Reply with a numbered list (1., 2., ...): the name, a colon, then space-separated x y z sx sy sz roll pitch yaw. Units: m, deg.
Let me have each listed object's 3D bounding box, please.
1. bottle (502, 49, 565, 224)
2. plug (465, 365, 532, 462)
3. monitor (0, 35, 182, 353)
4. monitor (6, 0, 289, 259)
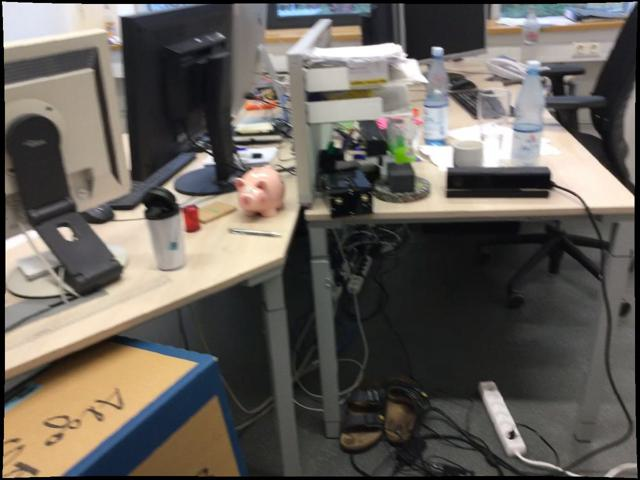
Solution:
1. bottle: 0.559 -0.270 1.540 0.090 0.430 0.150 -1 27 8
2. plug: 0.539 0.521 1.780 0.140 0.040 0.370 -1 27 8
3. monitor: -0.569 -0.120 1.150 0.360 0.460 0.500 -1 27 8
4. monitor: -0.350 -0.360 1.540 0.360 0.480 0.830 -1 27 8
